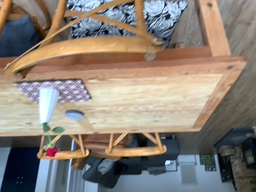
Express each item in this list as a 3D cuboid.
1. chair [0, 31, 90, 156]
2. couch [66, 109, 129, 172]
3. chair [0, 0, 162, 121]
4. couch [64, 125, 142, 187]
[{"bbox_3d":[-0.640,0.000,1.750,0.470,0.870,0.520,-3,154,5],"label":"chair"},{"bbox_3d":[-0.400,0.700,3.240,0.820,0.800,0.670,0,154,-1],"label":"couch"},{"bbox_3d":[-0.120,-0.400,0.940,0.470,0.870,0.530,-4,154,7],"label":"chair"},{"bbox_3d":[-0.330,1.540,4.860,1.170,0.890,2.800,-3,154,5],"label":"couch"}]
